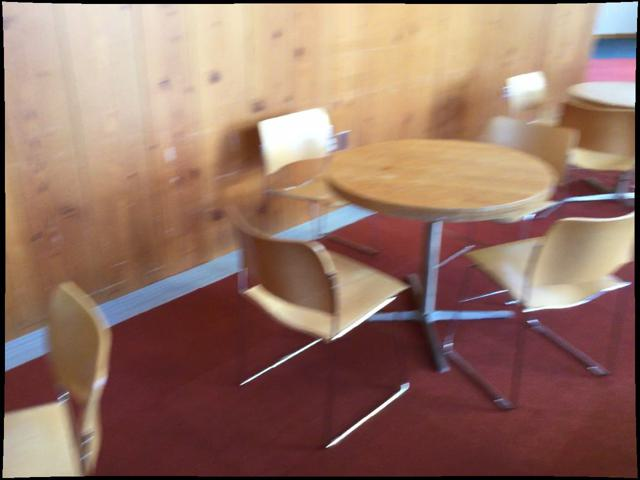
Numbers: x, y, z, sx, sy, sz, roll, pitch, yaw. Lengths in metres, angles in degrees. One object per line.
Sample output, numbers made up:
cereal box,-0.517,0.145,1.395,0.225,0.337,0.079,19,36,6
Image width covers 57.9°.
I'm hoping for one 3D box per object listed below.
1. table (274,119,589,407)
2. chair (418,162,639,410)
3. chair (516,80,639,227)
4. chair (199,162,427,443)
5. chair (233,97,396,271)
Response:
table,0.450,0.000,2.520,0.940,0.721,0.870,24,35,38
chair,0.799,0.130,2.180,0.580,0.620,0.550,-16,31,-29
chair,1.628,-0.551,3.500,0.510,0.661,0.630,25,35,39
chair,-0.020,0.180,2.060,0.480,0.701,0.580,25,35,39
chair,-0.040,-0.330,3.090,0.710,0.671,0.460,24,35,38
